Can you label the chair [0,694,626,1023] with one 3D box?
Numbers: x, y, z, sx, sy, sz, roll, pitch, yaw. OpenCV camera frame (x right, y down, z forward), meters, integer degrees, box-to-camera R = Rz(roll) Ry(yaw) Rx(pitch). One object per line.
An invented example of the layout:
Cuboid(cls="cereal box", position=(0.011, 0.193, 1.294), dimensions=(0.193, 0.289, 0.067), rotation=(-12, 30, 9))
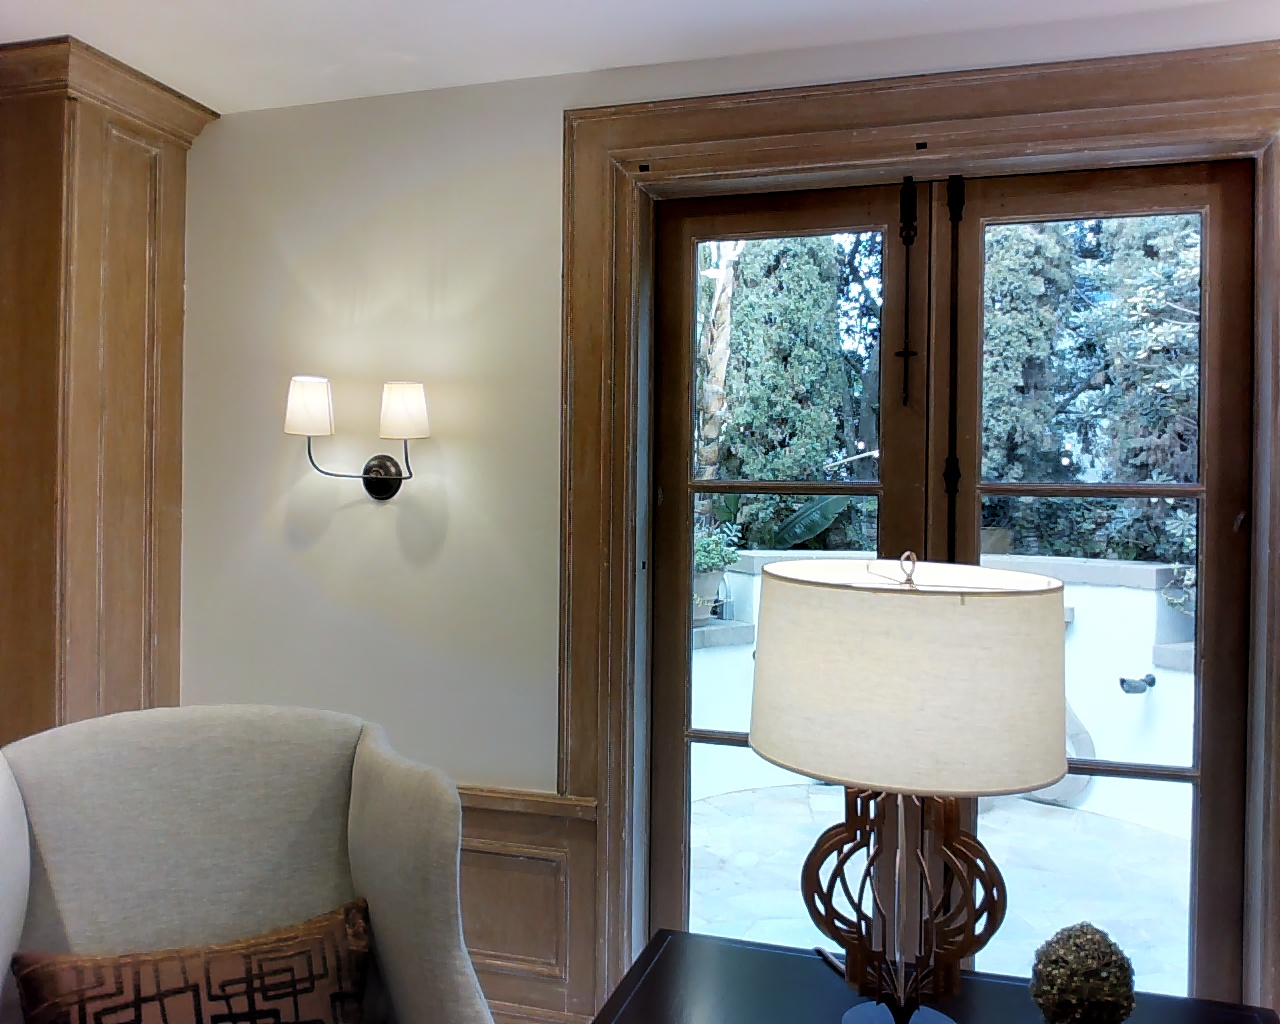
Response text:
Cuboid(cls="chair", position=(-0.610, 0.980, 1.590), dimensions=(0.890, 1.230, 0.820), rotation=(1, 1, -26))
